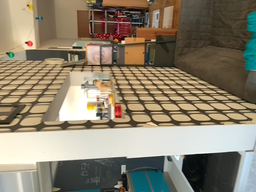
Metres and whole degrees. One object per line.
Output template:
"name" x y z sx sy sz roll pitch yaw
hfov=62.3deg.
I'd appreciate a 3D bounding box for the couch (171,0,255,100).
"couch" 0.920 -0.530 1.660 1.230 0.700 0.750 -116 27 -70
